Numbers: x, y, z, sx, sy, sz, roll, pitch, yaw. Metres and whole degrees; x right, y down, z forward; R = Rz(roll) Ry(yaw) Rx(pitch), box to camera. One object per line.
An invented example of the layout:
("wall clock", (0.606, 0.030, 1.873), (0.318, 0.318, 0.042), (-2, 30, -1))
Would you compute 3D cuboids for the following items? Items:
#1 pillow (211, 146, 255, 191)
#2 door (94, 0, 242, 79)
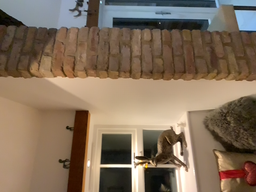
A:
("pillow", (0.920, 0.620, 1.730), (0.200, 0.350, 0.390), (96, 174, -67))
("door", (0.530, -0.980, 3.150), (0.110, 1.950, 1.580), (95, 175, -65))
